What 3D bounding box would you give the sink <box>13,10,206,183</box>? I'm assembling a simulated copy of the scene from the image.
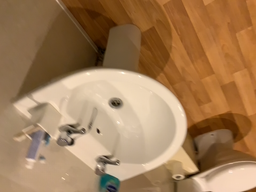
[{"bbox_3d":[-0.030,0.060,0.810,0.440,0.210,0.540,-24,124,21],"label":"sink"}]
